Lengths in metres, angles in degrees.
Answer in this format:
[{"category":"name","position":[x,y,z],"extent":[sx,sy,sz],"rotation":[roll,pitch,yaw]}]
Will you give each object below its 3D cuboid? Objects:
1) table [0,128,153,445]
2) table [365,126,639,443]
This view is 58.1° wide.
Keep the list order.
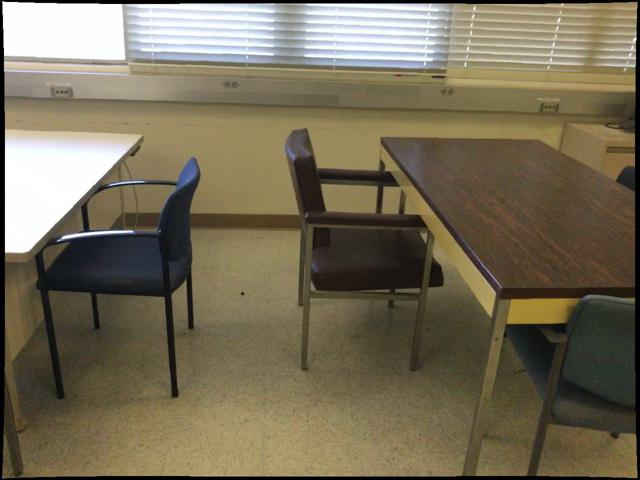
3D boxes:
[{"category":"table","position":[-1.277,0.050,2.390],"extent":[0.808,0.651,1.501],"rotation":[1,25,-5]},{"category":"table","position":[0.698,-0.010,2.080],"extent":[0.828,0.401,1.581],"rotation":[1,25,-5]}]
